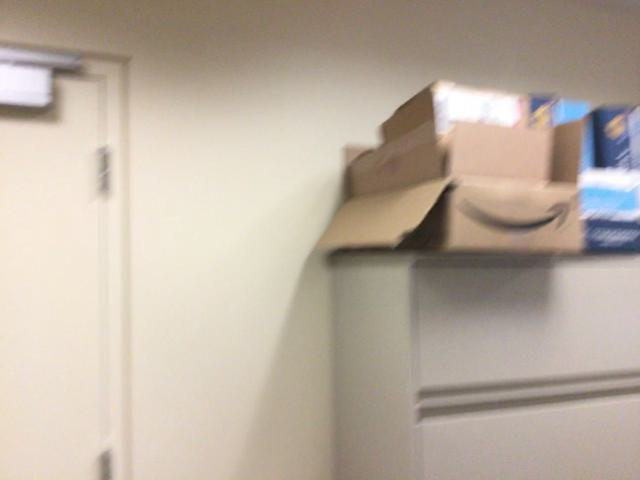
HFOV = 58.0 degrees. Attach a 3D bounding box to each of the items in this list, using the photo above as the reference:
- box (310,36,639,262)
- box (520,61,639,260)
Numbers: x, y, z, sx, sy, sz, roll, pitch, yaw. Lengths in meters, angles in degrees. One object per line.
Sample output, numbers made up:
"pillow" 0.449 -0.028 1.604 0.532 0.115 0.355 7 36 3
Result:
"box" 0.360 -0.180 1.530 0.650 0.450 0.520 0 -5 -17
"box" 0.880 -0.200 1.680 0.450 0.500 0.300 0 -5 -17
